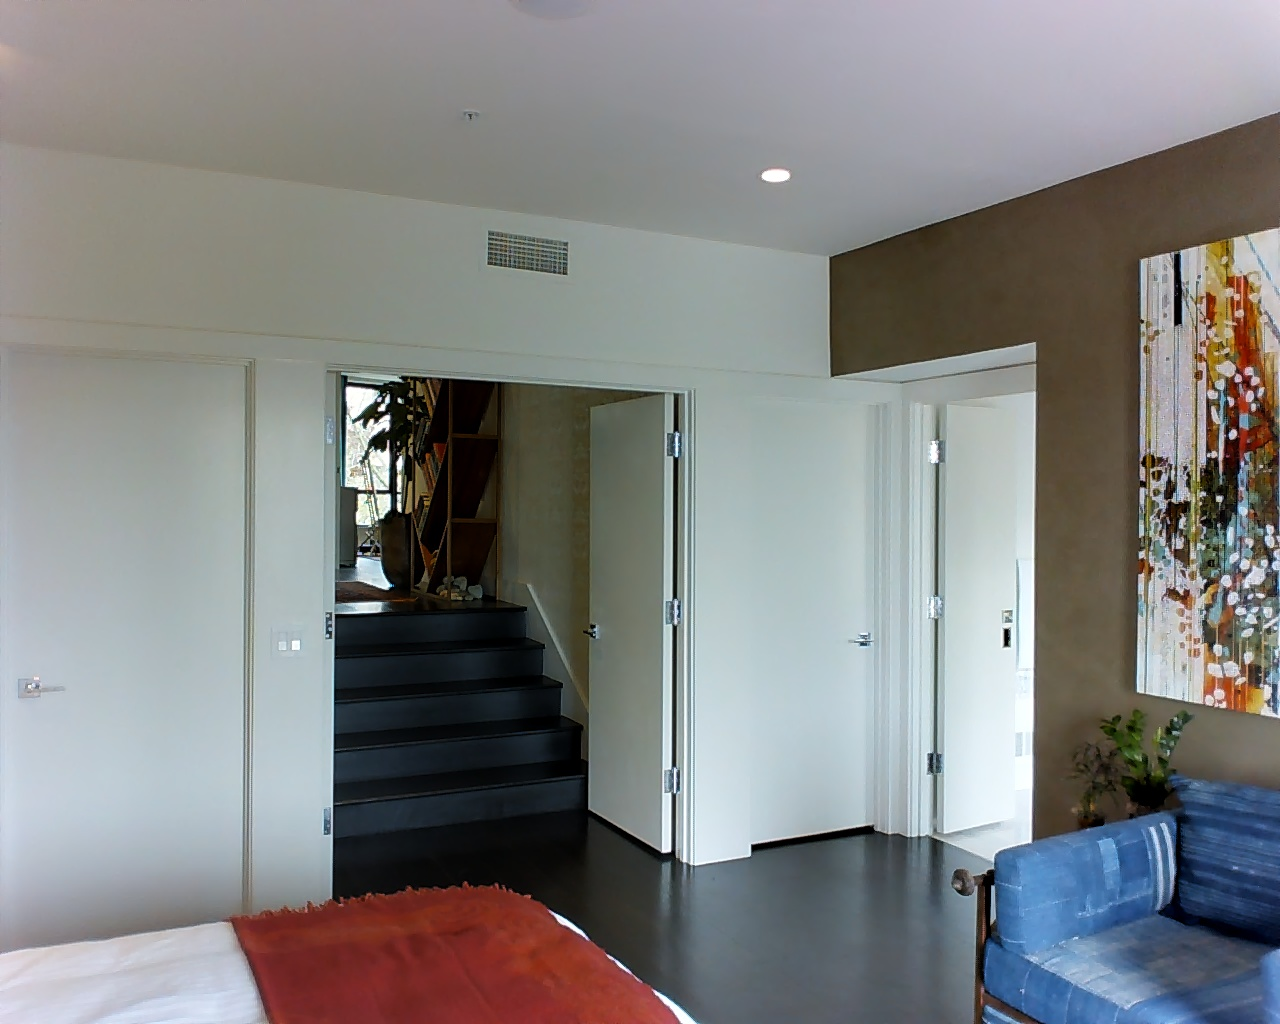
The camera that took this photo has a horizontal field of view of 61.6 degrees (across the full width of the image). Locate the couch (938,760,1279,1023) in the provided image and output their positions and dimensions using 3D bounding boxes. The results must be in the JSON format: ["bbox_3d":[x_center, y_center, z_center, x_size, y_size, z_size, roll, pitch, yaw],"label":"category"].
[{"bbox_3d":[1.490,1.140,2.540,1.100,0.780,1.030,0,0,-26],"label":"couch"}]

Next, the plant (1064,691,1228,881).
[{"bbox_3d":[1.560,0.830,3.330,0.230,0.470,0.400,0,0,-26],"label":"plant"}]

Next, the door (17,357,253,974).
[{"bbox_3d":[-1.720,0.500,3.690,0.710,2.000,0.120,0,0,-26],"label":"door"}]
